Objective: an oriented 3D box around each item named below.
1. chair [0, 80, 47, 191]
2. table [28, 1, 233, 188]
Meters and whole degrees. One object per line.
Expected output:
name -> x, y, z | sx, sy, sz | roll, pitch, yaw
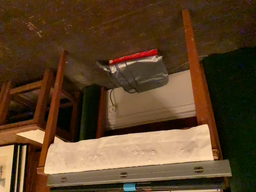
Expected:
chair -> -1.080, 0.480, 1.700 | 0.520, 1.070, 0.390 | -12, 150, 21
table -> 0.050, 0.090, 1.270 | 0.890, 0.780, 0.600 | -12, 150, 21
